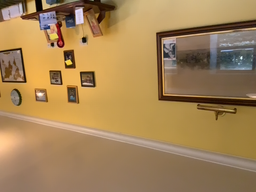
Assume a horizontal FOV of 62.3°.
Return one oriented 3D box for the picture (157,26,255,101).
[{"bbox_3d":[0.880,-0.300,2.070,1.260,0.660,0.020,4,-167,32],"label":"picture"}]
